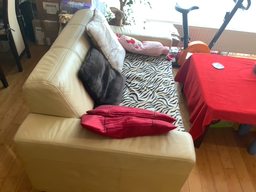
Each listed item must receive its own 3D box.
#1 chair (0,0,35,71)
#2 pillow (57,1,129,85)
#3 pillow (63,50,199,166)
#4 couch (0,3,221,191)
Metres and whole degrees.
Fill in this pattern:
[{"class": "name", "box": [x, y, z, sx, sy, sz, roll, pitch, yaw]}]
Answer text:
[{"class": "chair", "box": [-1.350, -0.780, 2.100, 0.560, 1.030, 0.380, -4, 41, -12]}, {"class": "pillow", "box": [-0.250, -0.450, 1.760, 0.450, 0.450, 0.520, 6, 40, 0]}, {"class": "pillow", "box": [0.030, 0.120, 1.220, 0.580, 0.490, 0.180, 44, 34, -26]}, {"class": "couch", "box": [-0.070, -0.080, 1.690, 0.950, 0.730, 1.480, 6, 40, -1]}]
